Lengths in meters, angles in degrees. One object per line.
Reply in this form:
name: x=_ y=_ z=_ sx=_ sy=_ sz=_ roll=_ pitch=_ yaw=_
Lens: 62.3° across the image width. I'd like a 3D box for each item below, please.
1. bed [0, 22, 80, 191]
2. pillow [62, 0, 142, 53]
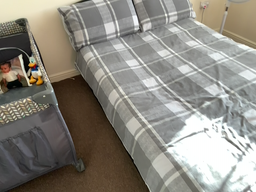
bed: x=-0.920 y=0.040 z=1.610 sx=0.630 sy=0.710 sz=1.270 roll=-20 pitch=41 yaw=-19
pillow: x=-0.220 y=-0.730 z=2.010 sx=0.680 sy=0.380 sz=0.110 roll=-31 pitch=65 yaw=1
